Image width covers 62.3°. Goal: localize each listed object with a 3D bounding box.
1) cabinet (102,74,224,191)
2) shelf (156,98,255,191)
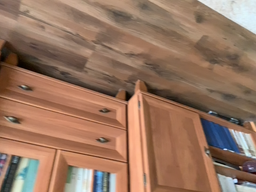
[{"bbox_3d":[0.170,0.370,1.410,0.490,0.760,0.520,19,136,-22],"label":"cabinet"},{"bbox_3d":[0.650,0.540,1.620,0.610,0.760,0.510,19,136,-22],"label":"shelf"}]
